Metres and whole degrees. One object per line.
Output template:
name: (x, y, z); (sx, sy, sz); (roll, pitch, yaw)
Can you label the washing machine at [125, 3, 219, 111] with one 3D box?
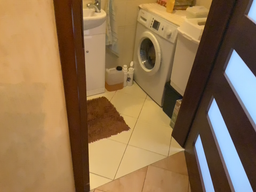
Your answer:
washing machine: (0.370, -0.410, 2.150); (0.510, 0.840, 0.600); (-14, 42, -26)
